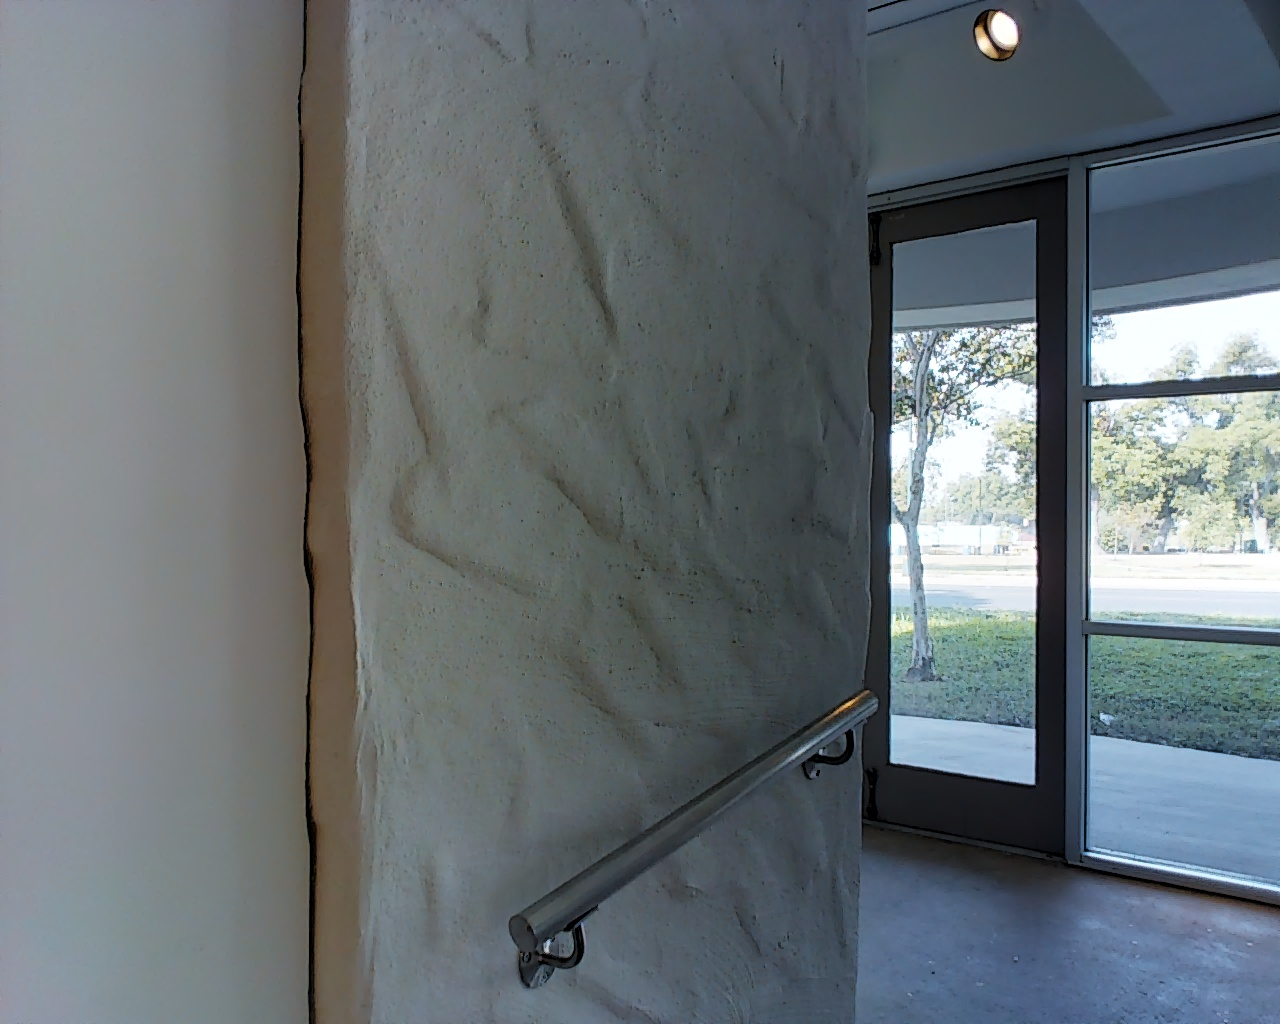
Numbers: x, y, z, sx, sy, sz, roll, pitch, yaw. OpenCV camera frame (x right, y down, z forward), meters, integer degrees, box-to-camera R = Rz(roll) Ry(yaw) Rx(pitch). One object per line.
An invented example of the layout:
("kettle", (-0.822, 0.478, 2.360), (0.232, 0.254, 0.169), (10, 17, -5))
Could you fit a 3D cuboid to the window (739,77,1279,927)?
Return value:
("window", (2.140, -0.030, 3.210), (4.050, 2.470, 0.500), (0, 0, 39))
